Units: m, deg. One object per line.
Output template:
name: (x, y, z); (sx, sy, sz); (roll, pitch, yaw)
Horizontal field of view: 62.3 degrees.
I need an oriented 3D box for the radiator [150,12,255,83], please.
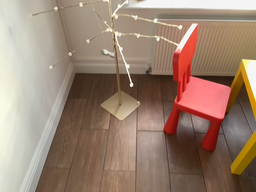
radiator: (0.860, -0.350, 1.670); (1.330, 0.550, 0.080); (3, 45, 3)
